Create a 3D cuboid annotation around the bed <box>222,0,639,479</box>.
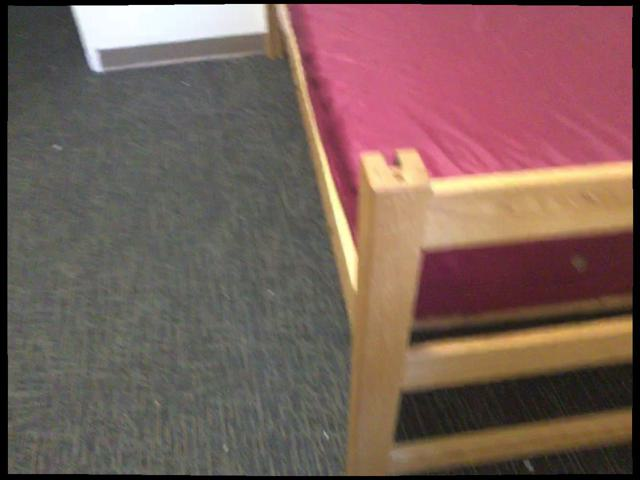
[{"bbox_3d":[0.379,-0.521,1.750,1.168,0.941,2.292,-9,45,-9],"label":"bed"}]
